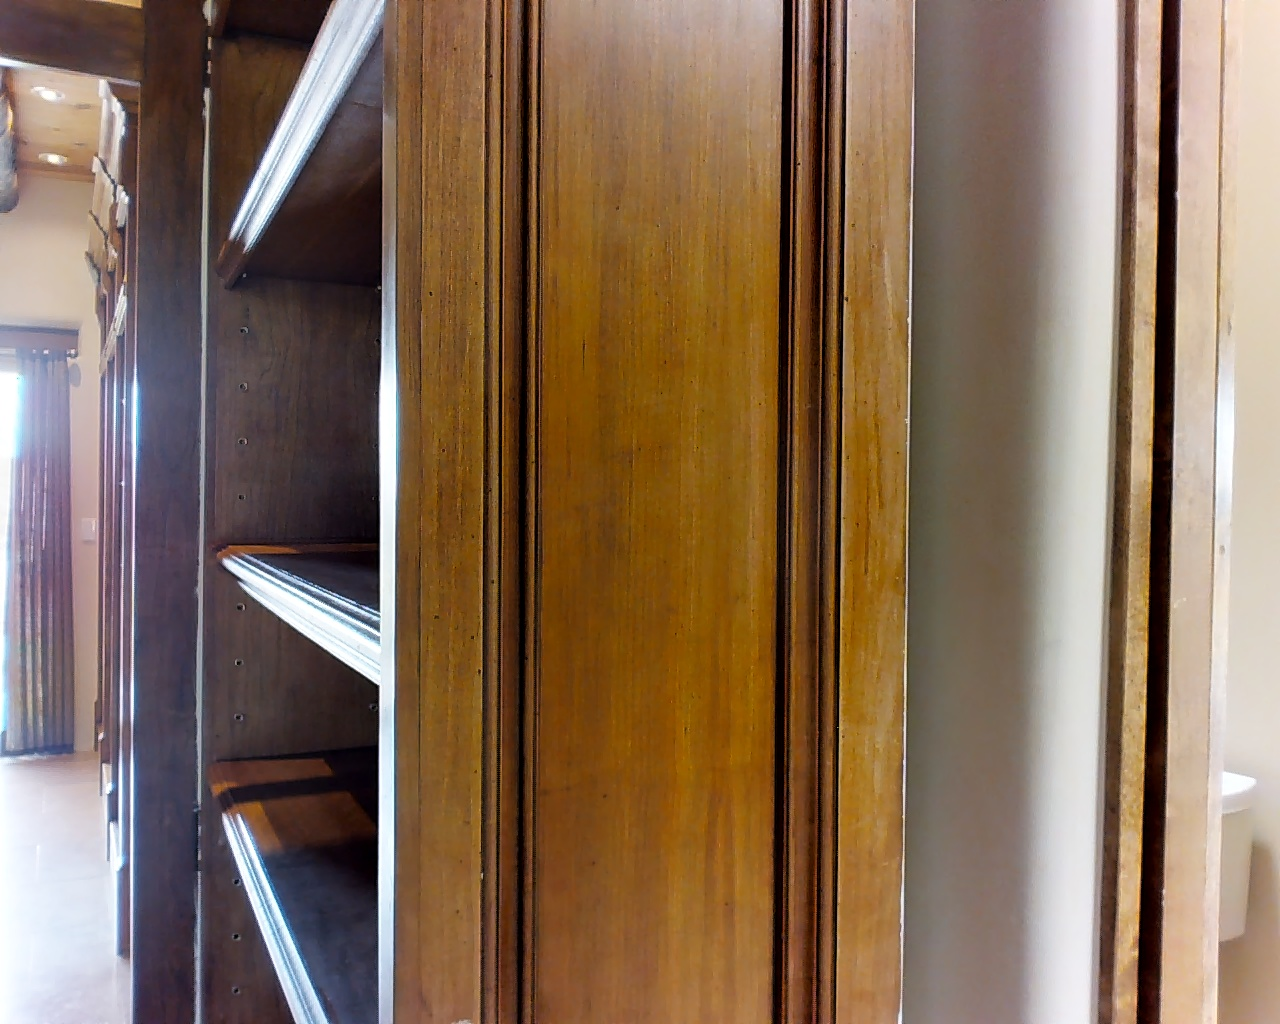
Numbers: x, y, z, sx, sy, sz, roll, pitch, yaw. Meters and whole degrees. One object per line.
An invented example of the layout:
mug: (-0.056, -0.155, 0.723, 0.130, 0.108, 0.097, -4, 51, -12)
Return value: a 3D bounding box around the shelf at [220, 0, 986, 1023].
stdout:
shelf: (-0.140, 0.200, 0.900, 0.320, 2.421, 0.820, 0, 1, -26)
